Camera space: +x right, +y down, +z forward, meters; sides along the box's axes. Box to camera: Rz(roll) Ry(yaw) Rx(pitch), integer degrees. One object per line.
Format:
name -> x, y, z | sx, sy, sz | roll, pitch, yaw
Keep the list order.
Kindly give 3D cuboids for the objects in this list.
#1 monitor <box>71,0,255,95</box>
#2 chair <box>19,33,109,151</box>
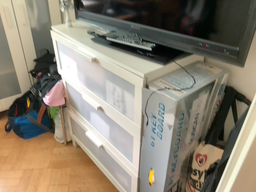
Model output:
monitor -> 0.050, -0.470, 0.820 | 0.060, 0.630, 0.960 | -28, 43, -37
chair -> -0.480, -0.040, 1.780 | 0.540, 0.810, 0.310 | -23, 40, -33
